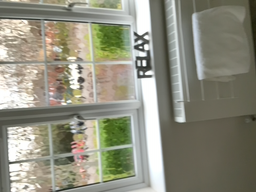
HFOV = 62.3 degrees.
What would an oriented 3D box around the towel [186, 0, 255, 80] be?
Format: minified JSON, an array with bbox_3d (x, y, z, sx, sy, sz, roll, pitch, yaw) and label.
[{"bbox_3d":[0.550,-0.310,1.210,0.160,0.360,0.410,172,94,-69],"label":"towel"}]
